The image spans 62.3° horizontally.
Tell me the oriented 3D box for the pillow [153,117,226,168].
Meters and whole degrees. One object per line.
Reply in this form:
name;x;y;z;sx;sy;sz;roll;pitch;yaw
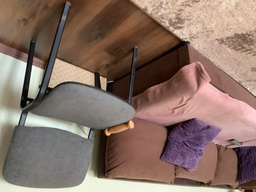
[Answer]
pillow;0.460;0.350;1.590;0.450;0.360;0.100;22;106;-38
